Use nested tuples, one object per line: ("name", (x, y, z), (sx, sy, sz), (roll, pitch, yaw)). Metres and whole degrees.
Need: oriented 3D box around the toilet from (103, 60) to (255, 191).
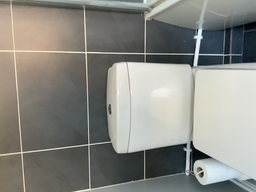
("toilet", (0.380, 0.070, 0.850), (0.710, 0.810, 0.390), (-159, 68, -69))
